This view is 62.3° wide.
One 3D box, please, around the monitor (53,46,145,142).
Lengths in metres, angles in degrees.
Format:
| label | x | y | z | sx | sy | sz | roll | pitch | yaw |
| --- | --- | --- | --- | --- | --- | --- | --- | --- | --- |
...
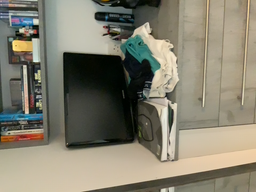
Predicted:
| label | x | y | z | sx | sy | sz | roll | pitch | yaw |
| --- | --- | --- | --- | --- | --- | --- | --- | --- | --- |
| monitor | -0.170 | -0.040 | 1.140 | 0.040 | 0.430 | 0.530 | 119 | 145 | -58 |
